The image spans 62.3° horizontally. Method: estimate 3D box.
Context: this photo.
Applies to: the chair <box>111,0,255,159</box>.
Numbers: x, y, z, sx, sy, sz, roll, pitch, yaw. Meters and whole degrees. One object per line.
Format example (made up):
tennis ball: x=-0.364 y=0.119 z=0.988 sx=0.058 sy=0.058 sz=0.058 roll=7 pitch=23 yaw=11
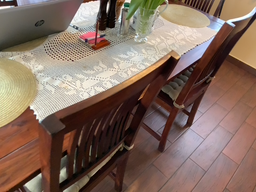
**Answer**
chair: x=0.290 y=-0.150 z=1.420 sx=0.490 sy=1.000 sz=0.480 roll=38 pitch=48 yaw=24
